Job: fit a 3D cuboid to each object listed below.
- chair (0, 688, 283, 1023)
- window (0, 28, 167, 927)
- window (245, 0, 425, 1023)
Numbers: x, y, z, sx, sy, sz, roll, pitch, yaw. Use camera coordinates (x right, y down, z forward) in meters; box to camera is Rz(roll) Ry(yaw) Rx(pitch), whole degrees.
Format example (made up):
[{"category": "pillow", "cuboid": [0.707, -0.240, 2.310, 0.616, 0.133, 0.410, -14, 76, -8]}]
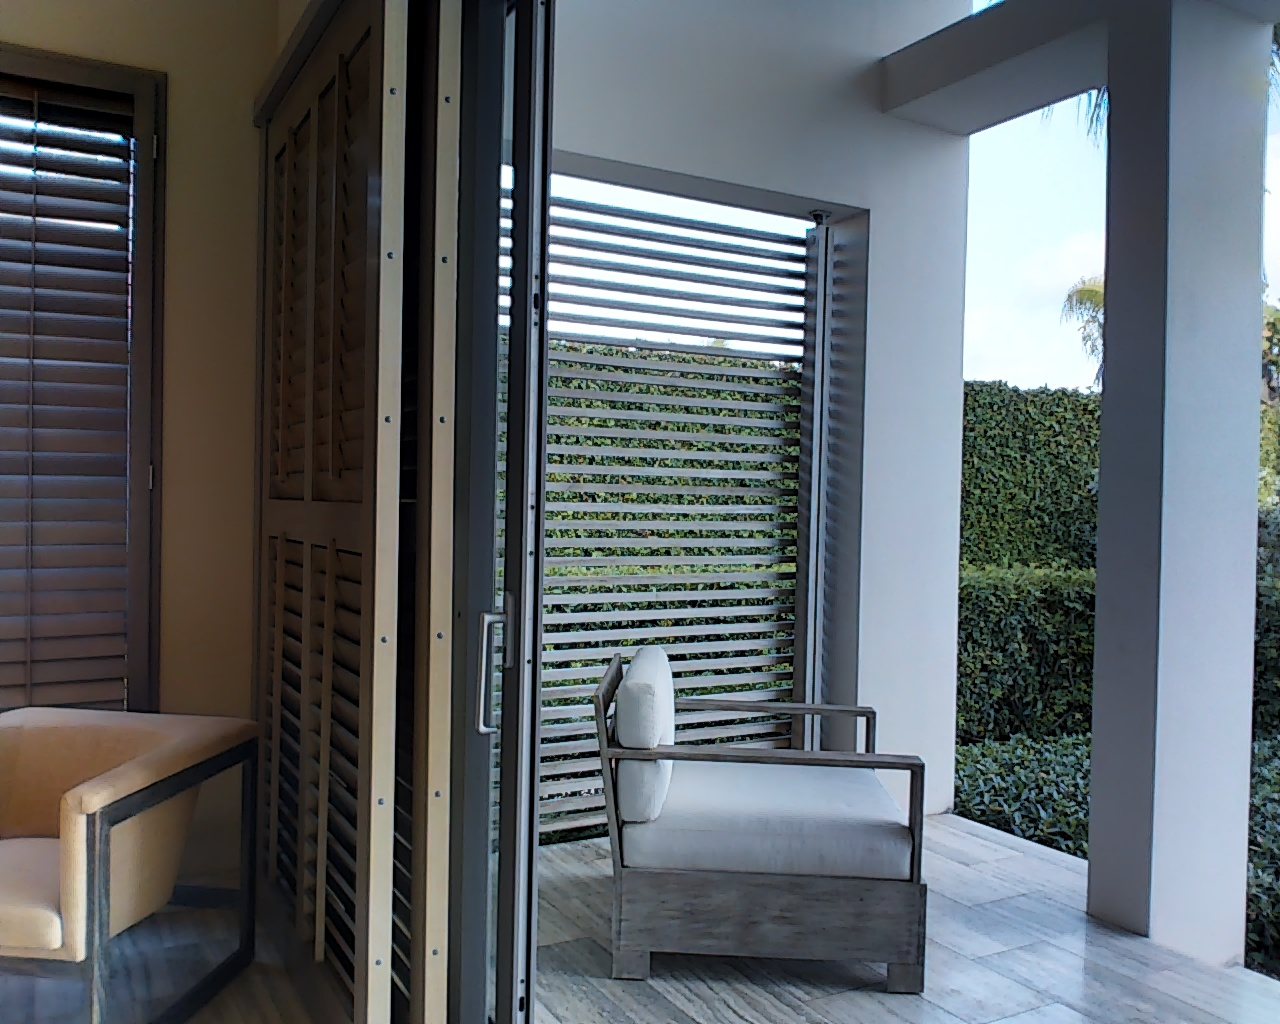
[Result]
[{"category": "chair", "cuboid": [-1.370, 0.820, 2.520, 0.730, 0.640, 0.800, 1, 1, 7]}, {"category": "window", "cuboid": [-1.660, -0.080, 2.970, 0.620, 2.410, 0.090, 0, 1, -30]}, {"category": "window", "cuboid": [-0.820, -0.010, 2.730, 0.110, 2.380, 1.300, 0, 1, -29]}]
